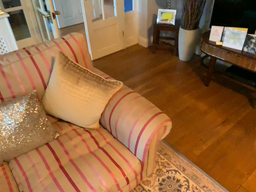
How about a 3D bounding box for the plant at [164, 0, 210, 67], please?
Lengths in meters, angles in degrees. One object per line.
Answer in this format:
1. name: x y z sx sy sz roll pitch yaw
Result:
1. plant: 0.740 -1.180 2.570 0.410 1.610 0.280 29 47 34
